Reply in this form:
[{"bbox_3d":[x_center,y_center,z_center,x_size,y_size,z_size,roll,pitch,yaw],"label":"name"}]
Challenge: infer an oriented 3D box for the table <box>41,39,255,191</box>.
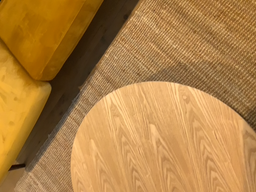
[{"bbox_3d":[0.160,0.330,0.960,0.800,0.360,0.810,36,108,16],"label":"table"}]
